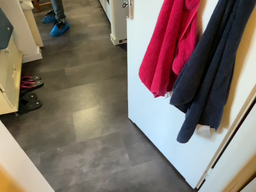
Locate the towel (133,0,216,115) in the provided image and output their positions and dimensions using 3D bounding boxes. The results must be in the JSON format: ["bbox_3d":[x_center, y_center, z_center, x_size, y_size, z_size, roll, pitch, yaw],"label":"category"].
[{"bbox_3d":[0.150,-0.180,0.860,0.180,0.510,0.190,-23,52,-19],"label":"towel"}]
